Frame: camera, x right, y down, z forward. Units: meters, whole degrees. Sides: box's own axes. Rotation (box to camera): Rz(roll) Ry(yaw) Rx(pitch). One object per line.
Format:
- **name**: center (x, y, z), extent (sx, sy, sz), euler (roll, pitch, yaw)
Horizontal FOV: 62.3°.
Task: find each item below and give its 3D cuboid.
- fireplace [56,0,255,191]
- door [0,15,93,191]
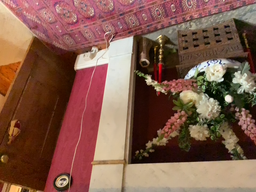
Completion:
- **fireplace**: center (0.550, 0.060, 1.250), extent (1.540, 1.160, 0.710), euler (-9, 145, 22)
- **door**: center (-0.670, 0.520, 1.250), extent (0.130, 2.110, 0.770), euler (-15, 143, 29)
